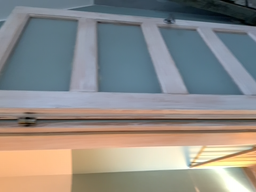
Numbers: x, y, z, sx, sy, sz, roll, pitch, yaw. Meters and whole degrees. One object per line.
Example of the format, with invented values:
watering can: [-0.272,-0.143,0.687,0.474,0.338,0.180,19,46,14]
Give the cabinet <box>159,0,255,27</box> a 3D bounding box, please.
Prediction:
cabinet: [0.800,-0.900,1.970,0.350,0.910,0.330,-103,18,-53]
